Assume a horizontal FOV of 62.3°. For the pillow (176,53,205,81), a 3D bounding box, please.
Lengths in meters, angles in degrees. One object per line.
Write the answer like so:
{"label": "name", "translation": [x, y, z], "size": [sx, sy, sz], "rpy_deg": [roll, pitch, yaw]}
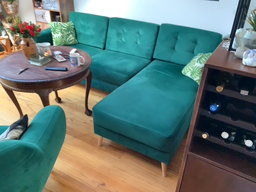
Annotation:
{"label": "pillow", "translation": [0.660, -0.300, 2.260], "size": [0.130, 0.260, 0.320], "rpy_deg": [6, 5, -11]}

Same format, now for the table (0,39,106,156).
{"label": "table", "translation": [-0.800, -0.070, 2.140], "size": [0.840, 0.700, 0.800], "rpy_deg": [18, 34, 24]}
